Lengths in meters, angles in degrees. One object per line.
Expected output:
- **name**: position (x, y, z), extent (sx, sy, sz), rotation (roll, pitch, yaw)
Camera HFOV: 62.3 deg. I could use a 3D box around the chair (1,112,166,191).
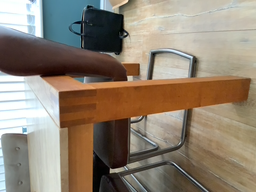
- **chair**: position (-0.310, 0.470, 1.410), extent (0.620, 0.880, 0.480), rotation (23, 114, 56)
